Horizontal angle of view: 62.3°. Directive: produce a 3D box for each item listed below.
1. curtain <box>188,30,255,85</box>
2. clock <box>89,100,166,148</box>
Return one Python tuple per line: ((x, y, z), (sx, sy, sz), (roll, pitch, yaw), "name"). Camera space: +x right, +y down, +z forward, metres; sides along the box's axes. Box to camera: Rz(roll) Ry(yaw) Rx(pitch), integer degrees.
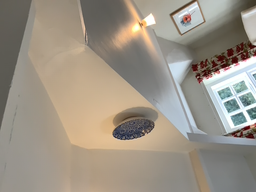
((1.770, -0.680, 3.580), (0.210, 1.420, 0.390), (40, -149, -49), "curtain")
((0.010, 0.240, 1.630), (0.440, 0.420, 0.110), (37, -147, -51), "clock")
